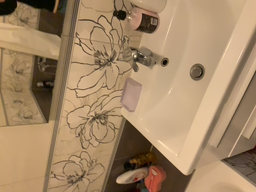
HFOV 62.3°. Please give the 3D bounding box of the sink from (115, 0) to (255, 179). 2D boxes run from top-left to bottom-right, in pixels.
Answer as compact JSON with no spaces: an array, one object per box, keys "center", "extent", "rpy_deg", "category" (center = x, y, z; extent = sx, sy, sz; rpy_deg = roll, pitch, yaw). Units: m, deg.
[{"center":[0.190,-0.090,0.790],"extent":[0.400,0.130,0.640],"rpy_deg":[40,121,44],"category":"sink"}]
